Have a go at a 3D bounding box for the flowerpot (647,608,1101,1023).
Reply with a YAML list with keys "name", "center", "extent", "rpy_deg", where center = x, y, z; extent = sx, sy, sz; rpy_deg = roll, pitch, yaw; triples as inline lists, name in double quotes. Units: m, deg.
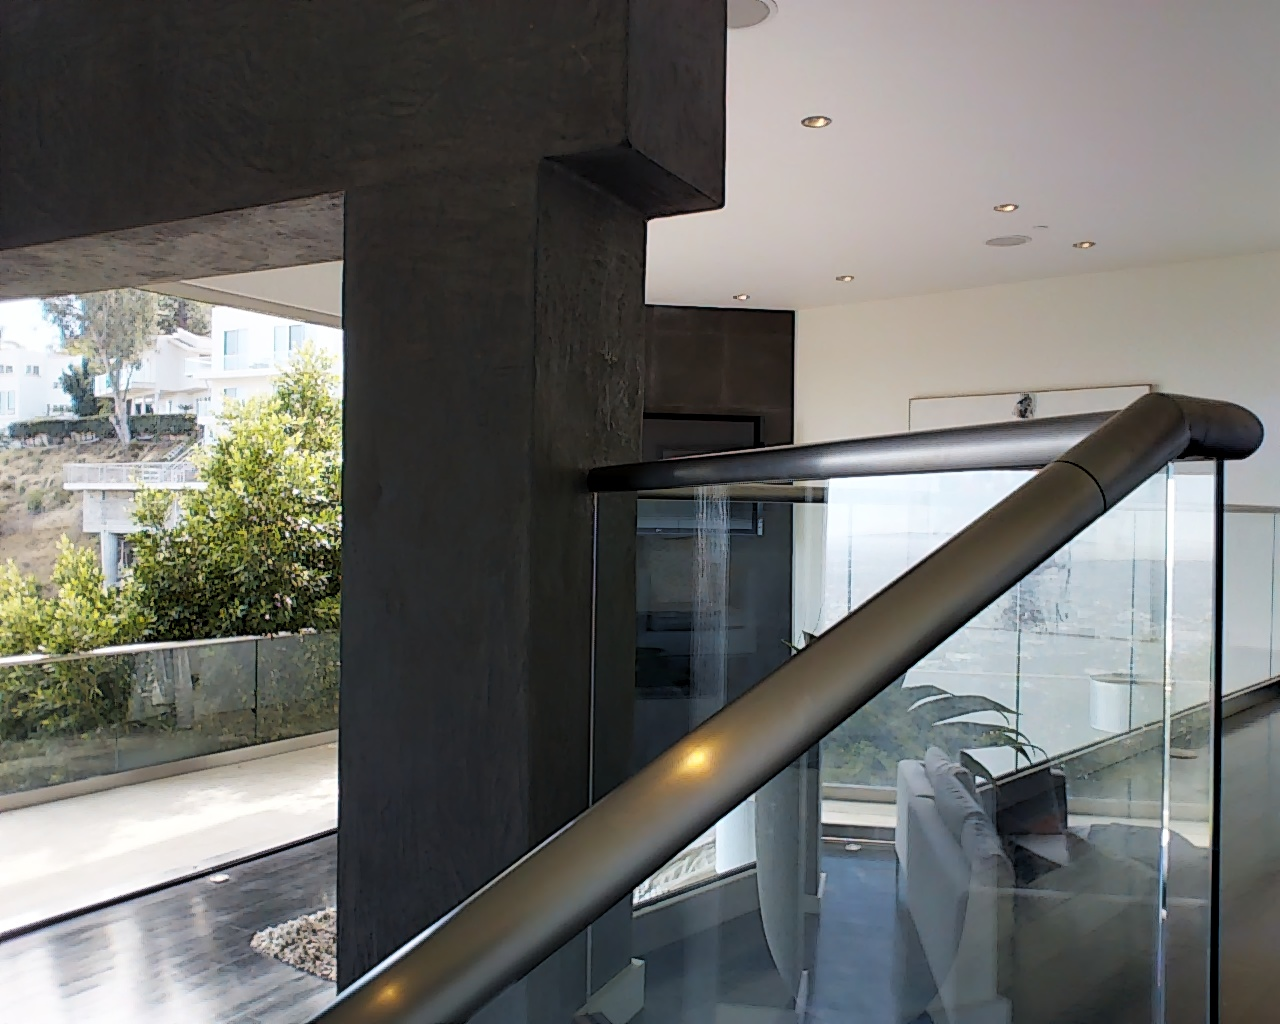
- name: "flowerpot"
  center: [0.480, 0.620, 2.250]
  extent: [0.660, 0.760, 0.650]
  rpy_deg: [1, 0, -39]
